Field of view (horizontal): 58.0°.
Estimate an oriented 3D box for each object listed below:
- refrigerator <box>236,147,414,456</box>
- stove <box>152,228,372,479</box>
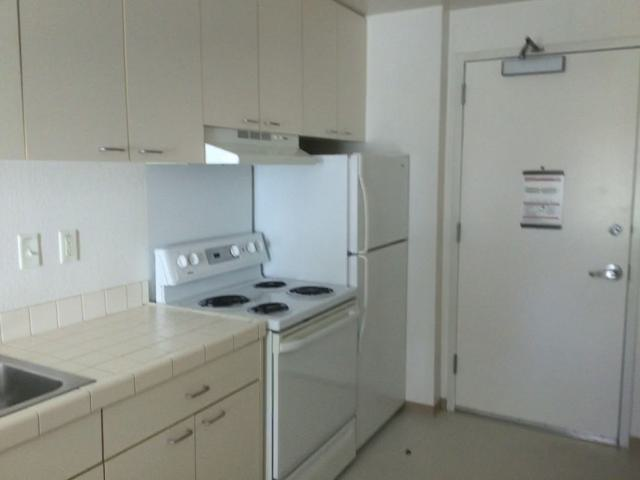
[{"bbox_3d":[0.070,0.260,3.230,0.660,1.480,0.800,1,7,28],"label":"refrigerator"},{"bbox_3d":[-0.240,0.570,2.700,0.690,1.200,0.780,3,4,27],"label":"stove"}]
